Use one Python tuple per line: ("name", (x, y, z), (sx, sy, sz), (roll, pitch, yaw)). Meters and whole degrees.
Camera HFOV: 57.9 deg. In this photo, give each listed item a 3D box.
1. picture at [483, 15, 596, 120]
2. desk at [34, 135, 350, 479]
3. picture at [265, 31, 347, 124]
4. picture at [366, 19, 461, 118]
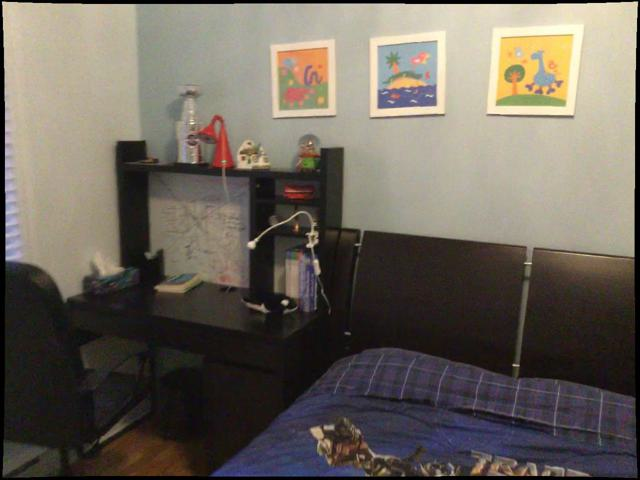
("picture", (0.739, -0.581, 1.970), (0.330, 0.330, 0.030), (6, 14, 24))
("desk", (-0.499, 0.270, 2.420), (1.089, 1.351, 0.570), (6, 14, 24))
("picture", (-0.060, -0.651, 2.340), (0.350, 0.350, 0.030), (6, 14, 24))
("picture", (0.340, -0.631, 2.150), (0.340, 0.340, 0.020), (6, 14, 24))
